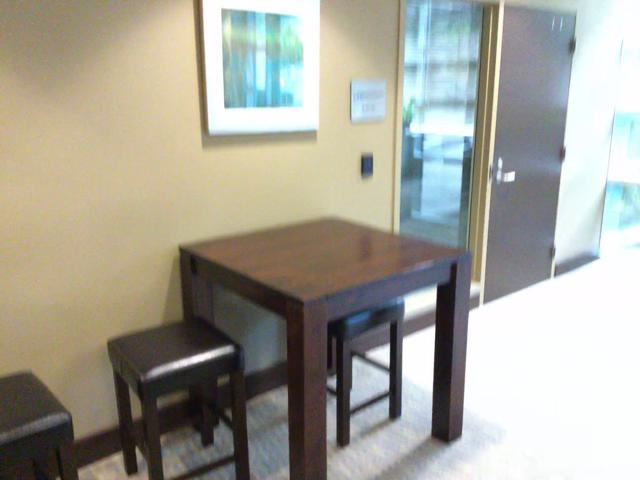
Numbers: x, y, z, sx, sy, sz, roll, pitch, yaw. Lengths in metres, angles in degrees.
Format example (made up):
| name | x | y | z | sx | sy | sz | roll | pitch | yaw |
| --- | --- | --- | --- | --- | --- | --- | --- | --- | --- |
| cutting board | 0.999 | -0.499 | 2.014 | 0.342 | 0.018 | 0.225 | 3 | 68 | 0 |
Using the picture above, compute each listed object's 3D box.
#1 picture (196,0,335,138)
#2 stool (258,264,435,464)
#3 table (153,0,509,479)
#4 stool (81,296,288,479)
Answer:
| name | x | y | z | sx | sy | sz | roll | pitch | yaw |
| --- | --- | --- | --- | --- | --- | --- | --- | --- | --- |
| picture | -0.220 | -0.820 | 2.620 | 0.660 | 0.670 | 0.140 | -13 | 18 | -41 |
| stool | 0.120 | 0.540 | 2.780 | 0.520 | 0.650 | 0.650 | -13 | 18 | -41 |
| table | 0.050 | -0.040 | 2.510 | 1.010 | 1.960 | 0.990 | -13 | 18 | -41 |
| stool | -0.550 | 0.670 | 2.370 | 0.560 | 0.640 | 0.610 | -13 | 18 | -41 |
